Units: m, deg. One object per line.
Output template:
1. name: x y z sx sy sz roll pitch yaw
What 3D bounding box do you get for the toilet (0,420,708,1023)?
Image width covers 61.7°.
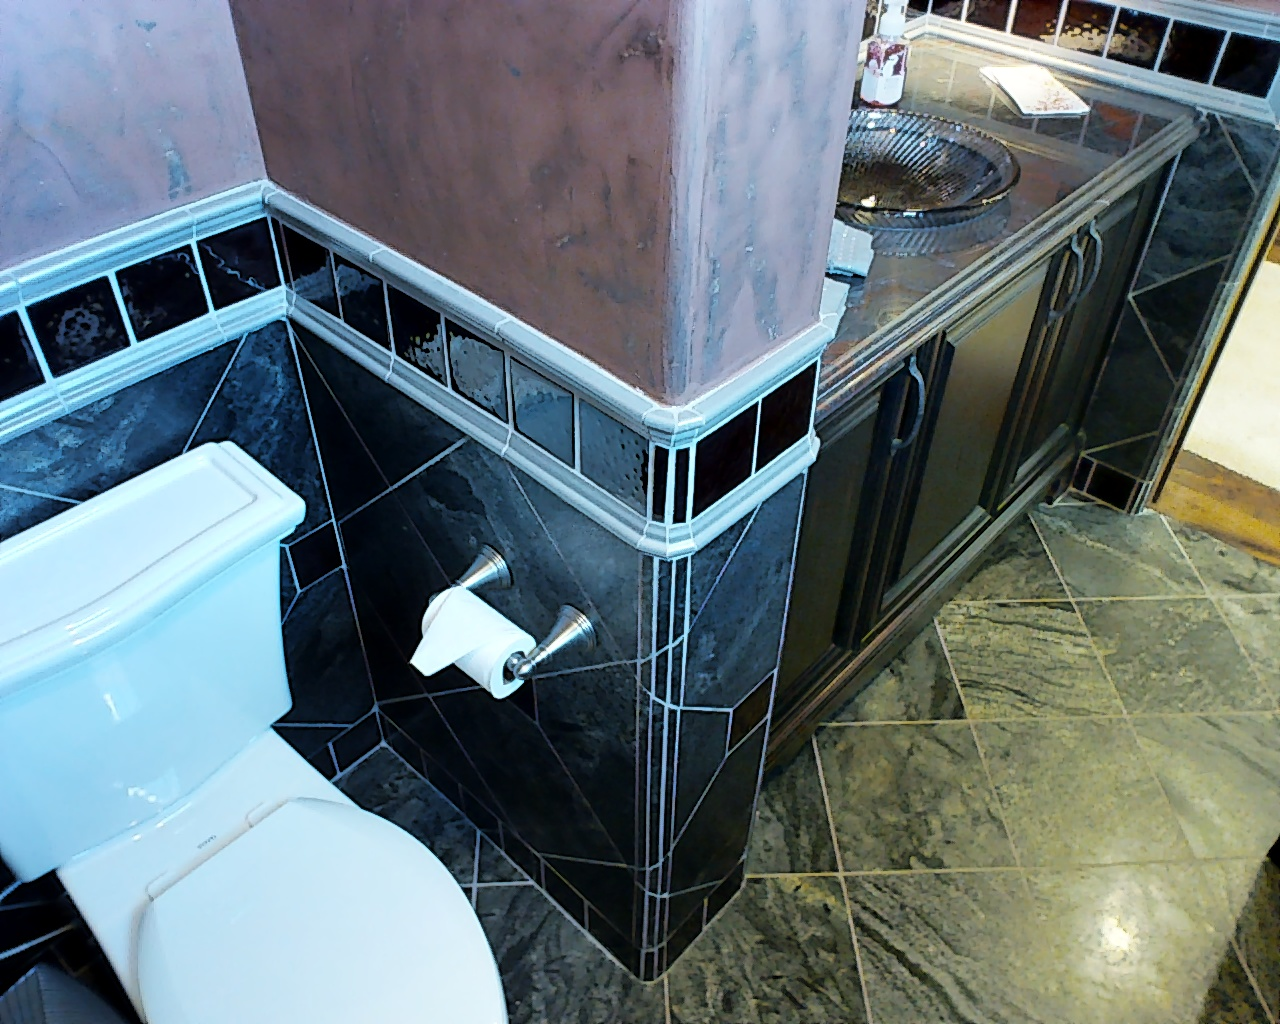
1. toilet: -0.420 0.480 1.290 0.760 0.760 0.590 32 50 30

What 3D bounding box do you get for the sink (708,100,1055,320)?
1. sink: 0.390 -0.510 1.750 0.390 0.120 0.390 32 50 30

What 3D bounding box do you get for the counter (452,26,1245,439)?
1. counter: 0.410 -0.550 1.730 0.640 0.030 1.300 32 50 30
